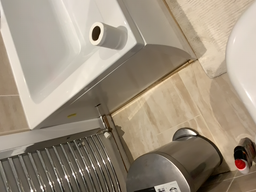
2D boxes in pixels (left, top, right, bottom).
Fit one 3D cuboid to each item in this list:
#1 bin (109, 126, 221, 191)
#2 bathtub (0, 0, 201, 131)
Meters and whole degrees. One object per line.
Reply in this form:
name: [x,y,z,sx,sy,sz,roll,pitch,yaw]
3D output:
bin: [0.190,0.330,0.960,0.260,0.440,0.240,-32,74,32]
bathtub: [-0.380,-0.750,1.240,0.710,0.580,1.670,-33,73,32]
